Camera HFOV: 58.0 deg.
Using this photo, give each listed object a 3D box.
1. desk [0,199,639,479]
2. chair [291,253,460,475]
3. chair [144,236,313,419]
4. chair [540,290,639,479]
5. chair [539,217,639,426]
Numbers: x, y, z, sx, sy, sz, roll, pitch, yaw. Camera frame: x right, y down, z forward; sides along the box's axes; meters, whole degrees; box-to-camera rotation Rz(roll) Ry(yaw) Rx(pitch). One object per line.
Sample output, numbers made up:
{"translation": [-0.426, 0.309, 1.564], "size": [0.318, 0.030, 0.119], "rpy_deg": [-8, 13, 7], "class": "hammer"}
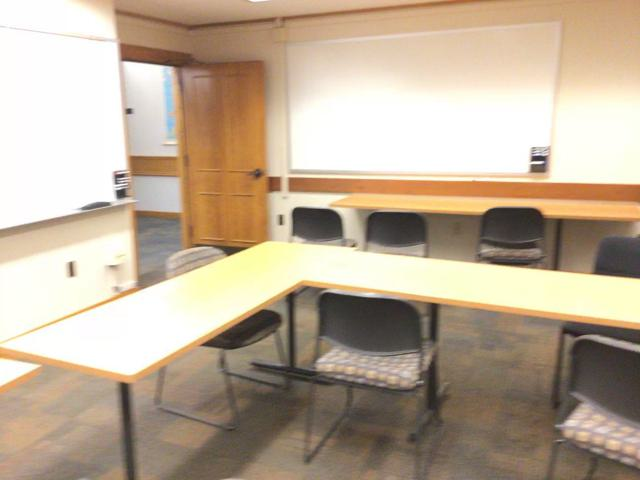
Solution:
{"translation": [0.290, 0.790, 0.980], "size": [4.000, 1.000, 3.970], "rpy_deg": [7, 12, 24], "class": "desk"}
{"translation": [0.260, 0.480, 2.540], "size": [0.520, 0.680, 0.660], "rpy_deg": [7, 12, 24], "class": "chair"}
{"translation": [-0.440, 0.390, 2.870], "size": [0.660, 0.690, 0.470], "rpy_deg": [7, 12, 24], "class": "chair"}
{"translation": [1.090, 0.590, 1.900], "size": [0.520, 0.650, 0.590], "rpy_deg": [9, 14, 34], "class": "chair"}
{"translation": [1.470, 0.360, 2.750], "size": [0.570, 0.790, 0.650], "rpy_deg": [6, 13, 7], "class": "chair"}
